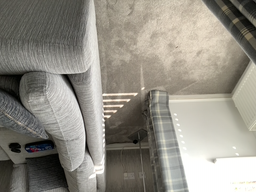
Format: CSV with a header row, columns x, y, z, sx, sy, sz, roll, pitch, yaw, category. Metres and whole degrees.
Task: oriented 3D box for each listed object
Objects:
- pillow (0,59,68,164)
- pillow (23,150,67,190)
x,y,z,sx,sy,sz,roll,pitch,yaw,category
-0.560,0.100,1.070,0.270,0.290,0.410,-21,136,16,pillow
-0.820,0.750,2.150,0.340,0.320,0.200,0,140,-7,pillow
